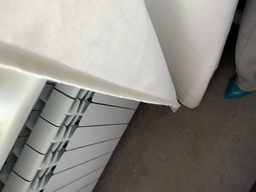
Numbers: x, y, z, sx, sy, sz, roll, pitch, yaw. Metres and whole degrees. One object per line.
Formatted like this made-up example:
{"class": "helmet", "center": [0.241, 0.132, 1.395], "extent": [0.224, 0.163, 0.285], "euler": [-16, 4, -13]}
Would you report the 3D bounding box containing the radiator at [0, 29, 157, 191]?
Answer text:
{"class": "radiator", "center": [-0.230, 0.300, 0.890], "extent": [0.200, 0.740, 0.880], "euler": [28, 93, 18]}
